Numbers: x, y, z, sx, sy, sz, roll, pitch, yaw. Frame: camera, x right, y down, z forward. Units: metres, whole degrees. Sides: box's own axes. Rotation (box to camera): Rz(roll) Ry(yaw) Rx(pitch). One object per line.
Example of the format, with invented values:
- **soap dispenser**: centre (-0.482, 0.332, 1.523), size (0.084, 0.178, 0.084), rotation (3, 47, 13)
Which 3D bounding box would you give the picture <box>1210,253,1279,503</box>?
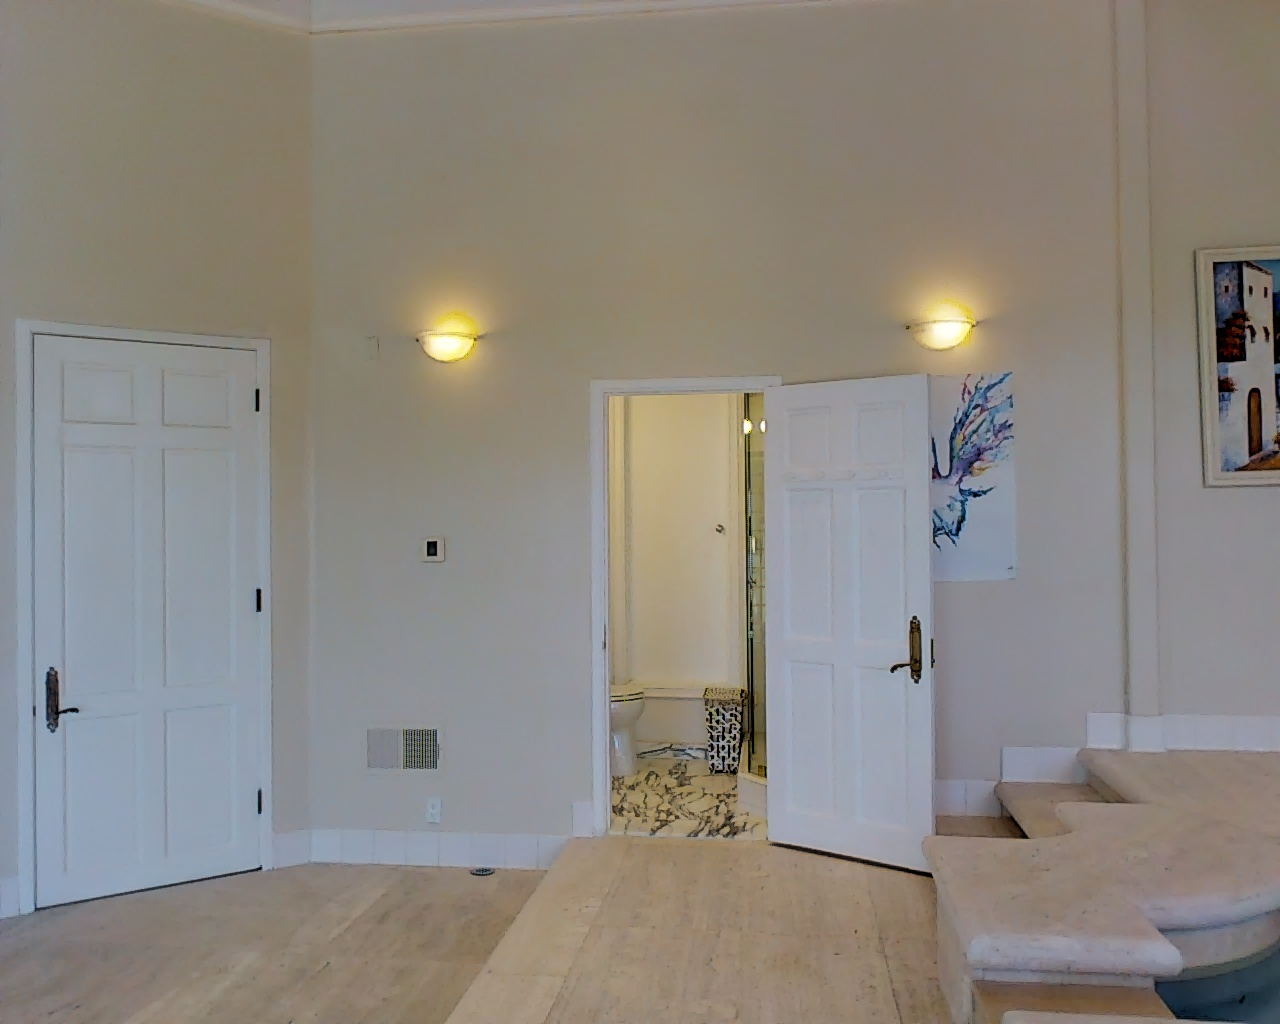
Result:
- **picture**: centre (3.110, -0.570, 4.480), size (1.330, 1.050, 0.050), rotation (-1, -1, 7)
